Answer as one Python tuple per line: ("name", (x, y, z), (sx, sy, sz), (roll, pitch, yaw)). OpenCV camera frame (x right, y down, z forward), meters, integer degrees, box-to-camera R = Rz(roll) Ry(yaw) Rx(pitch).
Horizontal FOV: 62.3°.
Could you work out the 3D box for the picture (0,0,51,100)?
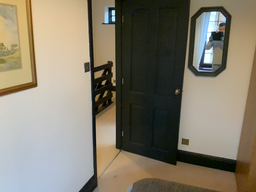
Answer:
("picture", (-0.680, -0.260, 0.980), (0.050, 0.590, 0.800), (7, 18, 20))
